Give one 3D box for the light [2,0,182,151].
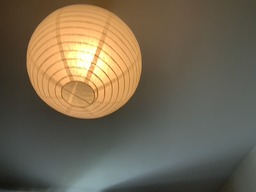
[{"bbox_3d":[-0.160,-0.180,0.860,0.410,0.420,0.580,-100,30,-63],"label":"light"}]
